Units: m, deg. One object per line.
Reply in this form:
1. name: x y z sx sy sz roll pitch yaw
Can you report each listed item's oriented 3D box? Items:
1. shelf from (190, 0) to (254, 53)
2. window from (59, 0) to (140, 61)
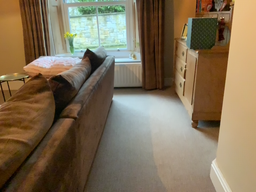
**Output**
1. shelf: 0.980 -1.150 2.330 0.230 1.140 1.190 -1 21 2
2. window: -0.470 -1.490 3.520 1.310 1.800 0.170 0 21 6
